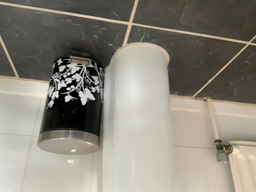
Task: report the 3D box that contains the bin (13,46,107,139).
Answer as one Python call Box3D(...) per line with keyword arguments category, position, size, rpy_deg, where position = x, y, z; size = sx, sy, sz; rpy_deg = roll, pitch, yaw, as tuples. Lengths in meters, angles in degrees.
Box3D(category="bin", position=(-0.190, 0.000, 0.660), size=(0.220, 0.210, 0.180), rpy_deg=(5, 153, -10))
